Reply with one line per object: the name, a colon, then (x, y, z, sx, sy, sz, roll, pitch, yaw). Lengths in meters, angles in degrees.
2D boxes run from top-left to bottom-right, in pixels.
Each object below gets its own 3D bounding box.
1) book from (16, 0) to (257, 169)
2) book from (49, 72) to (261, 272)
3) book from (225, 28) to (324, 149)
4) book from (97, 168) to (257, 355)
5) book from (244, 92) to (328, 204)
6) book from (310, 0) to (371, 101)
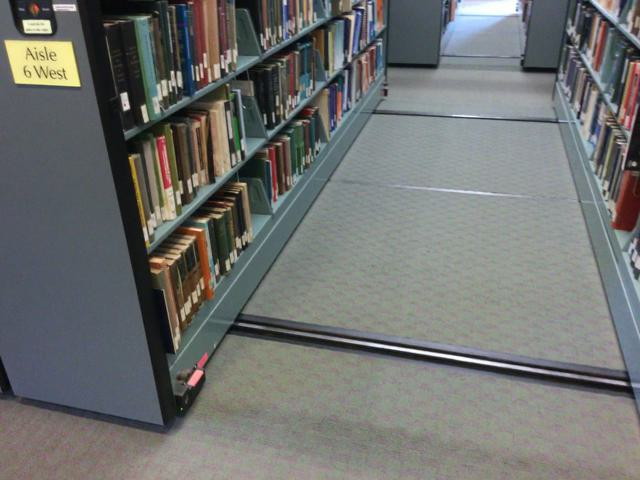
book: (-0.430, -0.510, 1.610, 0.210, 0.350, 0.790, 5, 29, 14)
book: (-0.430, -0.260, 1.760, 0.200, 0.320, 0.820, 5, 29, 14)
book: (-0.160, -0.690, 2.510, 0.130, 0.310, 0.870, 5, 29, 14)
book: (-0.410, 0.030, 1.850, 0.160, 0.280, 0.690, 5, 29, 14)
book: (-0.130, -0.460, 2.690, 0.120, 0.250, 0.840, 5, 29, 14)
book: (0.140, -1.100, 3.250, 0.100, 0.370, 1.020, 5, 29, 14)
